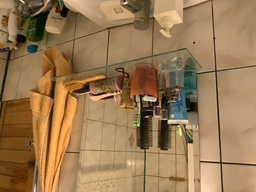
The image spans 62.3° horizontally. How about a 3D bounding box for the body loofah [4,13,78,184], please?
[{"bbox_3d":[-0.360,0.000,0.910,0.180,0.670,0.130,-6,165,33],"label":"body loofah"}]
